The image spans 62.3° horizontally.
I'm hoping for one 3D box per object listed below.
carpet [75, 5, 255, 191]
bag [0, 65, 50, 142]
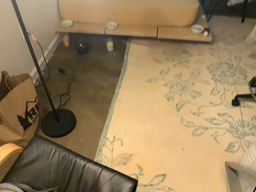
[{"bbox_3d":[0.890,-0.220,2.060,1.920,0.040,2.620,10,46,7],"label":"carpet"},{"bbox_3d":[-0.800,0.050,1.510,0.280,0.360,0.370,7,46,3],"label":"bag"}]
